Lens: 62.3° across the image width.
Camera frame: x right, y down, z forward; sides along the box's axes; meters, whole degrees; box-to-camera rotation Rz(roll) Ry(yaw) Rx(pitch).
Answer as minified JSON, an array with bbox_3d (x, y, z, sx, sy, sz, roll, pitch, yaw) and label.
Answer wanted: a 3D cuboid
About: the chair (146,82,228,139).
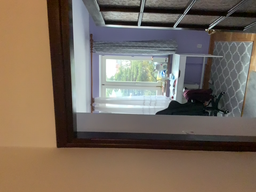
[{"bbox_3d":[1.000,0.250,3.910,0.730,1.210,0.740,-93,5,-62],"label":"chair"}]

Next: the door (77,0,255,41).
[{"bbox_3d":[0.660,-0.650,1.690,0.820,2.020,0.100,118,154,-85],"label":"door"}]
